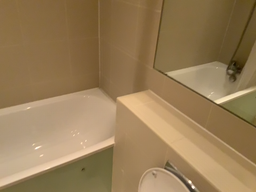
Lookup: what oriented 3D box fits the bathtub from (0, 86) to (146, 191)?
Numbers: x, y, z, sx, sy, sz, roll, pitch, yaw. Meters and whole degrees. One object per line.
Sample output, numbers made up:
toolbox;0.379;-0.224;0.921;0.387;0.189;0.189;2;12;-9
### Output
bathtub;-0.800;0.510;1.360;1.690;0.570;0.700;-15;36;-29
